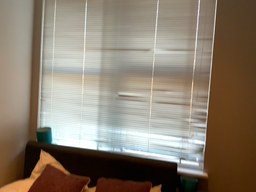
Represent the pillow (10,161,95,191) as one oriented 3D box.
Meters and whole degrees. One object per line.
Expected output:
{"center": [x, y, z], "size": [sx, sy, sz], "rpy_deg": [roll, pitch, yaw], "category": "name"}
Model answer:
{"center": [-0.590, 0.790, 1.750], "size": [0.410, 0.270, 0.550], "rpy_deg": [4, 3, 17], "category": "pillow"}
